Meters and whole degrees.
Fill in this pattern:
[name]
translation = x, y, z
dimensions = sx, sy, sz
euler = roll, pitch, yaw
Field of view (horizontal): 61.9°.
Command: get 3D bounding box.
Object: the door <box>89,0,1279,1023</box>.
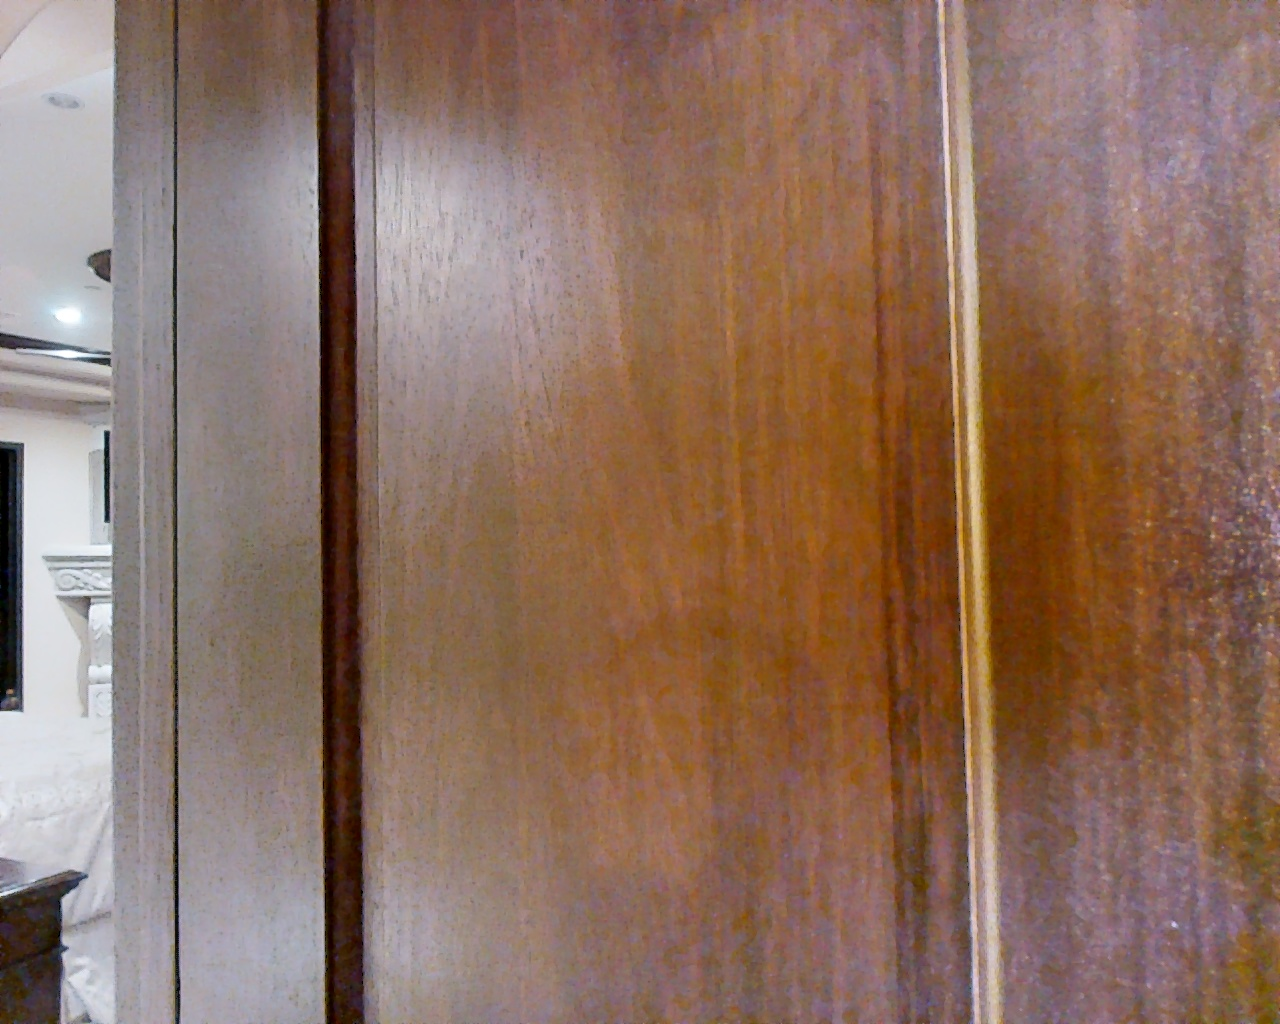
[door]
translation = -0.040, 0.330, 0.590
dimensions = 0.780, 2.420, 0.040
euler = -2, -3, 29
